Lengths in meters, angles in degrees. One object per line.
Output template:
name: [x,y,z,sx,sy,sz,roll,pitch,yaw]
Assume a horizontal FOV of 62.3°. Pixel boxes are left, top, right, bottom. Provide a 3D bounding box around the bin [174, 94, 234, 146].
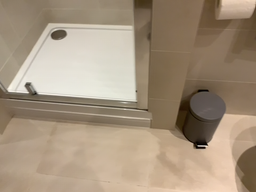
bin: [0.380,0.130,1.120,0.230,0.240,0.160,2,52,5]
